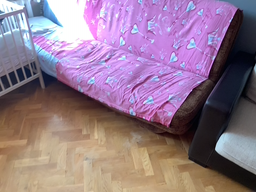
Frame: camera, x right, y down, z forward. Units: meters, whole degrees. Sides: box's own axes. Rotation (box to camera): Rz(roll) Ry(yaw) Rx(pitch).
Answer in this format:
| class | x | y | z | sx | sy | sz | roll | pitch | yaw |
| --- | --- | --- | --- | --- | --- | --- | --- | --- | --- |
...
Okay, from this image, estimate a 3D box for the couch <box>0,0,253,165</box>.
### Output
| class | x | y | z | sx | sy | sz | roll | pitch | yaw |
| --- | --- | --- | --- | --- | --- | --- | --- | --- | --- |
| couch | -0.290 | -0.580 | 2.160 | 2.350 | 0.980 | 1.050 | 26 | 45 | 25 |
